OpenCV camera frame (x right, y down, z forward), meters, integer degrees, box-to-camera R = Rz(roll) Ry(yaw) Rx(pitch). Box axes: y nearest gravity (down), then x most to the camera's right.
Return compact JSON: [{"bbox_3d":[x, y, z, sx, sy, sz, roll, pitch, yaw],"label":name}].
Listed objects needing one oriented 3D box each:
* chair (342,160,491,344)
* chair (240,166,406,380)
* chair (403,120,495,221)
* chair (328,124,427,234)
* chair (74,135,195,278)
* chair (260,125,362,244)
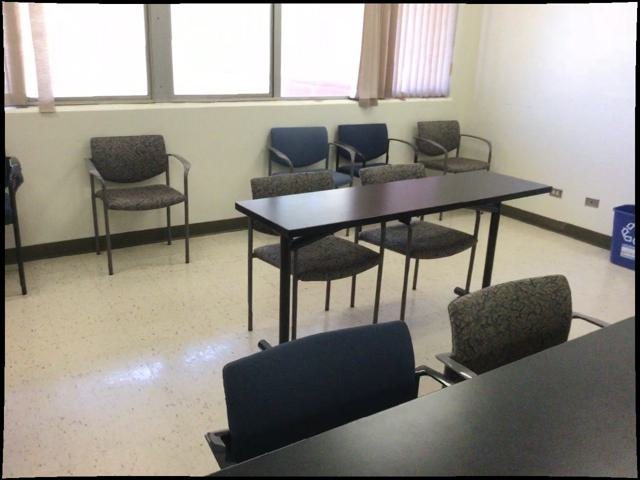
[{"bbox_3d":[0.489,0.030,3.070,0.499,0.792,0.510,-10,23,-32],"label":"chair"},{"bbox_3d":[-0.010,0.120,2.790,0.579,0.822,0.510,-10,23,-32],"label":"chair"},{"bbox_3d":[1.087,-0.612,4.910,0.479,0.732,0.490,-10,23,-32],"label":"chair"},{"bbox_3d":[0.439,-0.501,4.560,0.549,0.732,0.480,-10,23,-32],"label":"chair"},{"bbox_3d":[-1.157,-0.241,3.610,0.549,0.722,0.530,-10,23,-32],"label":"chair"},{"bbox_3d":[-0.080,-0.431,4.230,0.519,0.722,0.530,-10,23,-32],"label":"chair"}]
